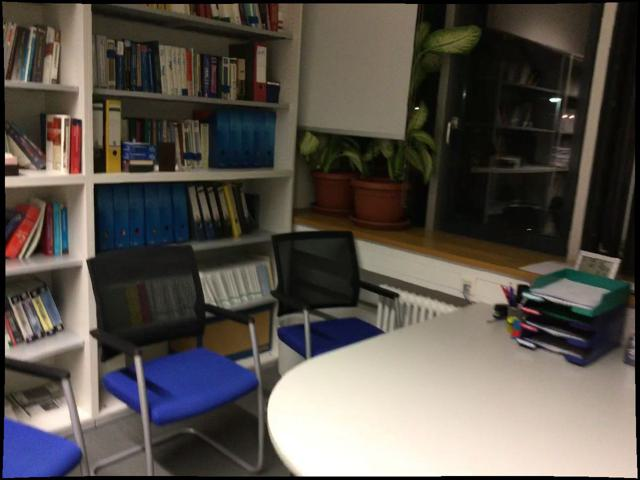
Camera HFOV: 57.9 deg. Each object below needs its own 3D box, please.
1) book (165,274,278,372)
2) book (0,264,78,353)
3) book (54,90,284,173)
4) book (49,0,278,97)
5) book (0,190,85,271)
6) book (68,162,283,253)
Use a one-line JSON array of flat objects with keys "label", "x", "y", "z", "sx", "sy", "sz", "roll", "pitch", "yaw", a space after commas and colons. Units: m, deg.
[{"label": "book", "x": -0.569, "y": 0.460, "z": 3.350, "sx": 0.490, "sy": 0.350, "sz": 0.410, "roll": -11, "pitch": 20, "yaw": -44}, {"label": "book", "x": -1.508, "y": 0.330, "z": 2.500, "sx": 0.780, "sy": 0.260, "sz": 0.310, "roll": -11, "pitch": 20, "yaw": -44}, {"label": "book", "x": -0.729, "y": -0.571, "z": 2.990, "sx": 1.099, "sy": 0.340, "sz": 0.370, "roll": -11, "pitch": 20, "yaw": -44}, {"label": "book", "x": -0.739, "y": -0.941, "z": 2.940, "sx": 1.099, "sy": 0.360, "sz": 0.320, "roll": -11, "pitch": 20, "yaw": -44}, {"label": "book", "x": -1.429, "y": -0.030, "z": 2.410, "sx": 0.740, "sy": 0.250, "sz": 0.360, "roll": -11, "pitch": 20, "yaw": -44}, {"label": "book", "x": -0.729, "y": -0.210, "z": 3.110, "sx": 1.089, "sy": 0.330, "sz": 0.340, "roll": -11, "pitch": 20, "yaw": -44}]
